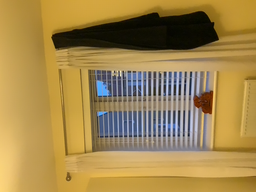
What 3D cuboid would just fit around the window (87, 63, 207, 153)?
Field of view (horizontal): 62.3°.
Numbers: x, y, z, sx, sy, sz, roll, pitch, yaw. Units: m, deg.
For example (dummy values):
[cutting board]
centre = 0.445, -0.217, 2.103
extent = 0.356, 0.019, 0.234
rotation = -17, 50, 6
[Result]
[window]
centre = 0.180, 0.130, 2.060
extent = 0.070, 1.100, 0.860
rotation = -88, -3, -78
